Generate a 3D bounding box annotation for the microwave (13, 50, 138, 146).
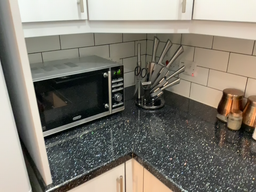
[{"bbox_3d":[-0.230,-0.030,1.020,0.480,0.280,0.280,-17,28,-34],"label":"microwave"}]
